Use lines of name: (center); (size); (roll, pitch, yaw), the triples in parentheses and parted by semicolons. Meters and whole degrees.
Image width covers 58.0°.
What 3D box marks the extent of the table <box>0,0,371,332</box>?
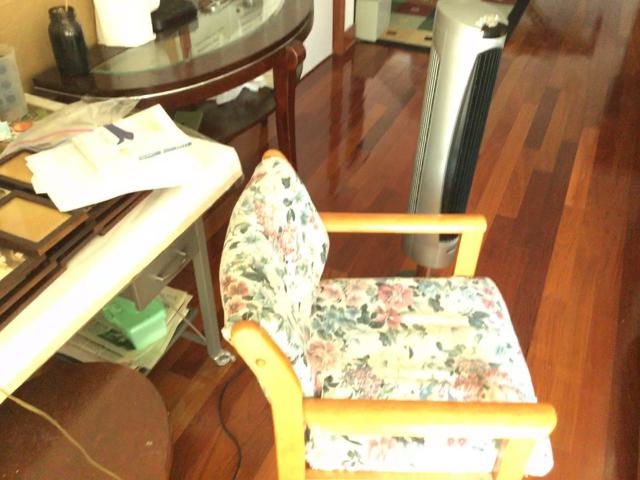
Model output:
table: (-0.350, -0.490, 2.200); (0.630, 0.880, 1.260); (19, 49, 18)
